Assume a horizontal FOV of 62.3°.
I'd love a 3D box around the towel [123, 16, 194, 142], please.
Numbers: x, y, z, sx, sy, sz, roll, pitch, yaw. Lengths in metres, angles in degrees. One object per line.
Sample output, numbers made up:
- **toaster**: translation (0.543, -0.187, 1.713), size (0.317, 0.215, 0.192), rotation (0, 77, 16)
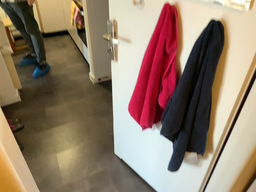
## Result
- **towel**: translation (0.110, -0.060, 0.960), size (0.180, 0.510, 0.190), rotation (-25, 46, -29)
